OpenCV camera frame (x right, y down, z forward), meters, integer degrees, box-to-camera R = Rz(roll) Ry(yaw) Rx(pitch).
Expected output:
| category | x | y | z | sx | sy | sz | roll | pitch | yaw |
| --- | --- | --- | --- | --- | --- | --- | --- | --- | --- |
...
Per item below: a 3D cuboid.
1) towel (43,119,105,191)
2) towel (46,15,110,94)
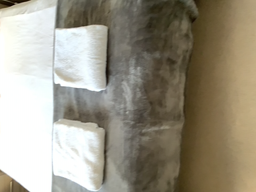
| category | x | y | z | sx | sy | sz | roll | pitch | yaw |
| --- | --- | --- | --- | --- | --- | --- | --- | --- | --- |
| towel | -0.320 | 0.330 | 1.210 | 0.430 | 0.100 | 0.340 | 2 | 94 | 38 |
| towel | -0.290 | -0.210 | 1.150 | 0.440 | 0.080 | 0.360 | 6 | 96 | 38 |
